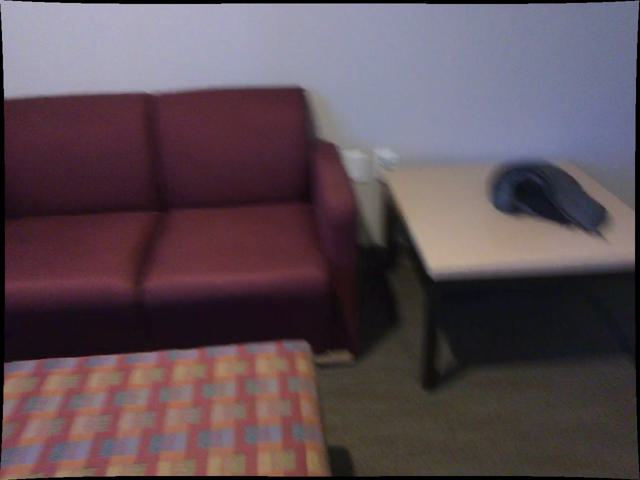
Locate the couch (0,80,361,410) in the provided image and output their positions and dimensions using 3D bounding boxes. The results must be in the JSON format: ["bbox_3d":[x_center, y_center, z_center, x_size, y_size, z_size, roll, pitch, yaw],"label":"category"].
[{"bbox_3d":[-0.849,-0.010,1.950,1.857,0.791,0.750,-4,30,-5],"label":"couch"}]
